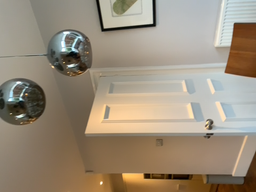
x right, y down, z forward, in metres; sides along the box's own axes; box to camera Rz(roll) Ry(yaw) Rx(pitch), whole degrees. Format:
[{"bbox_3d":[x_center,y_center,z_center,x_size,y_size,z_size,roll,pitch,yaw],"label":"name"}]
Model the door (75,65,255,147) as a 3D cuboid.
[{"bbox_3d":[0.710,0.050,2.090,0.940,2.280,0.140,-86,-8,-47],"label":"door"}]
